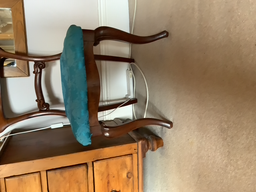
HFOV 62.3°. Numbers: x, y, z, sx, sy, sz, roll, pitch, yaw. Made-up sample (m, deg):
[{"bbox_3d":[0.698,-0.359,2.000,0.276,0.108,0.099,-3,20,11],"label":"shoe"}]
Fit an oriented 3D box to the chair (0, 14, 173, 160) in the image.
[{"bbox_3d":[-0.290,-0.060,1.090,0.540,0.830,0.510,-176,81,-70],"label":"chair"}]
